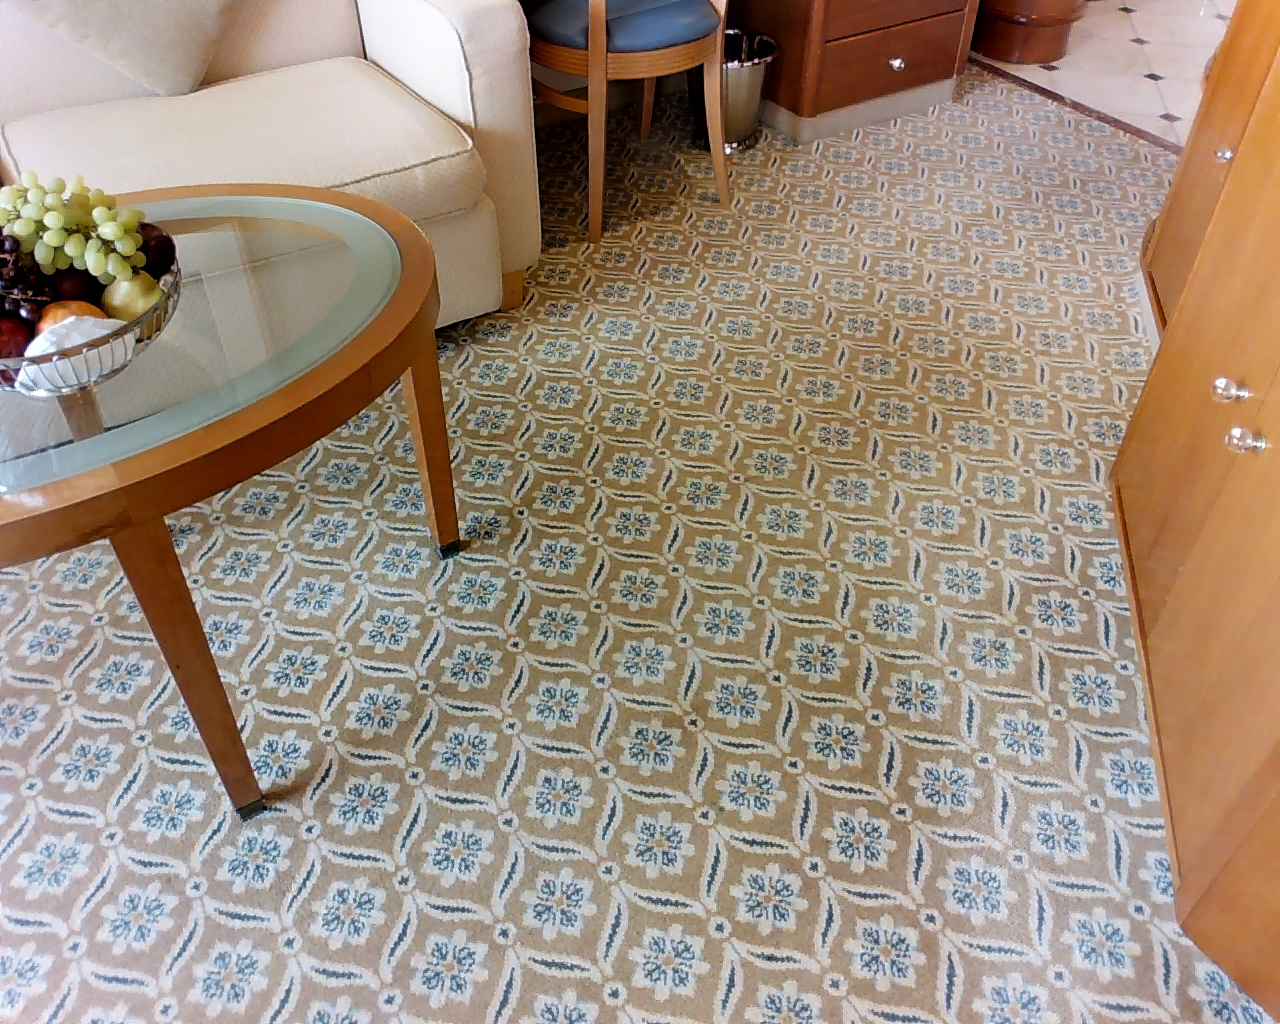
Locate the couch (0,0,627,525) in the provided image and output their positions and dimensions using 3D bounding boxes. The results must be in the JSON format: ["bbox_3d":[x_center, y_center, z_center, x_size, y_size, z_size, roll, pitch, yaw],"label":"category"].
[{"bbox_3d":[-0.770,-0.860,1.910,1.200,1.110,0.900,-23,47,-24],"label":"couch"}]

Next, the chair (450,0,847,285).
[{"bbox_3d":[0.000,-1.120,2.400,0.620,0.870,0.660,-23,47,-24],"label":"chair"}]
